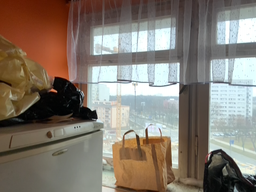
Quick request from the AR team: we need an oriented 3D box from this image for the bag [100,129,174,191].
[{"bbox_3d":[0.060,0.380,1.270,0.360,0.300,0.270,2,0,24],"label":"bag"}]
